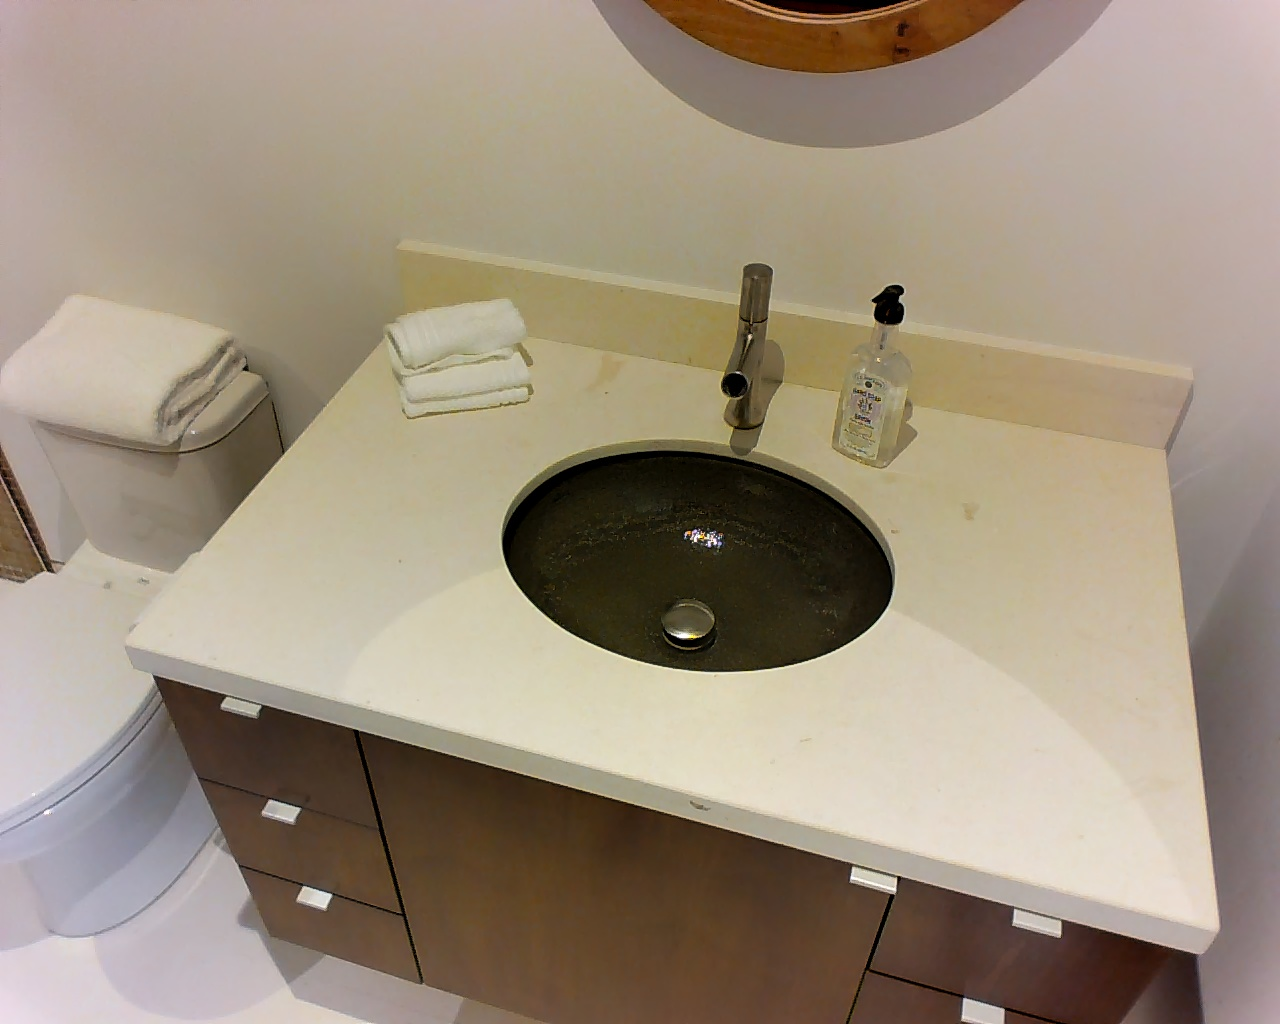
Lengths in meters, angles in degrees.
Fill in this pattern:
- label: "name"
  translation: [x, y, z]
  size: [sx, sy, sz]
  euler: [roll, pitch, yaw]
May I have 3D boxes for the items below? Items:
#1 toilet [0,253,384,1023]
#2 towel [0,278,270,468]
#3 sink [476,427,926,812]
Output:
- label: "toilet"
  translation: [-0.820, 0.220, 1.600]
  size: [0.420, 0.870, 0.780]
  euler: [12, 43, 12]
- label: "towel"
  translation: [-0.750, -0.210, 1.560]
  size: [0.300, 0.110, 0.240]
  euler: [13, 43, 13]
- label: "sink"
  translation: [0.080, 0.100, 1.200]
  size: [0.410, 0.150, 0.330]
  euler: [13, 43, 13]
